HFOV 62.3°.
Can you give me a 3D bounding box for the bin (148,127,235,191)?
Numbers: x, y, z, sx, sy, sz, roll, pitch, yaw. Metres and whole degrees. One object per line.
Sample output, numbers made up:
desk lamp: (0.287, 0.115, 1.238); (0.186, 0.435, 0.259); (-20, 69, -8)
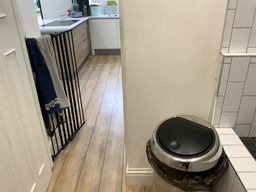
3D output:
bin: (0.320, 0.550, 1.290); (0.380, 0.600, 0.380); (1, 26, 4)
